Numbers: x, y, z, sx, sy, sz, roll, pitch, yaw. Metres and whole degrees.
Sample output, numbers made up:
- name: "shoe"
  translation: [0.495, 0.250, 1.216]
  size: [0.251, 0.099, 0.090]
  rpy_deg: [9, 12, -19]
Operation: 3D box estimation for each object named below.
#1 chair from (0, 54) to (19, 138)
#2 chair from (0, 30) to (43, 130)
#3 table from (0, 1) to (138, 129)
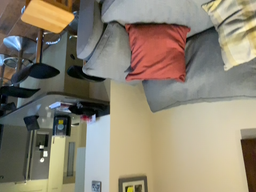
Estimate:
- name: "chair"
  translation: [-1.830, 0.000, 2.880]
  size: [0.490, 1.080, 0.400]
  rpy_deg: [7, 163, -25]
- name: "chair"
  translation: [-1.360, -0.150, 2.510]
  size: [0.450, 1.020, 0.450]
  rpy_deg: [13, 160, -40]
- name: "table"
  translation: [-0.940, -0.140, 2.770]
  size: [1.950, 0.900, 0.980]
  rpy_deg: [-15, 159, 42]
